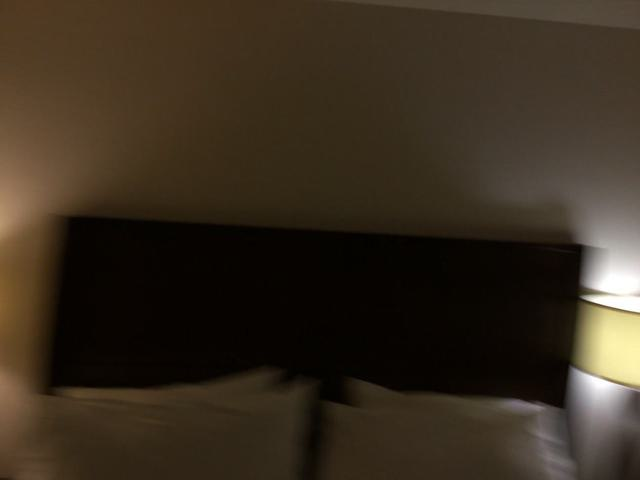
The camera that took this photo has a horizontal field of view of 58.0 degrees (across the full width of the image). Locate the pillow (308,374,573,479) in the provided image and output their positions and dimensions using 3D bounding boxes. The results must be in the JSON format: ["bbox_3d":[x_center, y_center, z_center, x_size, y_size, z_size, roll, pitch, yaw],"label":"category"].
[{"bbox_3d":[0.340,0.670,1.840,0.720,0.340,0.410,4,2,-4],"label":"pillow"}]

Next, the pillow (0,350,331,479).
[{"bbox_3d":[-0.420,0.600,1.750,0.850,0.390,0.440,4,2,-4],"label":"pillow"}]
